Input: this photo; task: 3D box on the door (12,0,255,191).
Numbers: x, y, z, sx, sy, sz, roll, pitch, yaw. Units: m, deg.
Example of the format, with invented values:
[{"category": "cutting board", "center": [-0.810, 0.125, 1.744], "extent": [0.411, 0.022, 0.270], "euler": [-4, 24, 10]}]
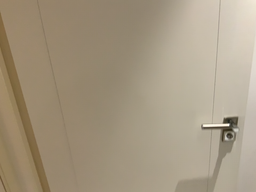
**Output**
[{"category": "door", "center": [0.080, 0.130, 0.850], "extent": [0.800, 2.030, 0.030], "euler": [-5, 22, 0]}]
